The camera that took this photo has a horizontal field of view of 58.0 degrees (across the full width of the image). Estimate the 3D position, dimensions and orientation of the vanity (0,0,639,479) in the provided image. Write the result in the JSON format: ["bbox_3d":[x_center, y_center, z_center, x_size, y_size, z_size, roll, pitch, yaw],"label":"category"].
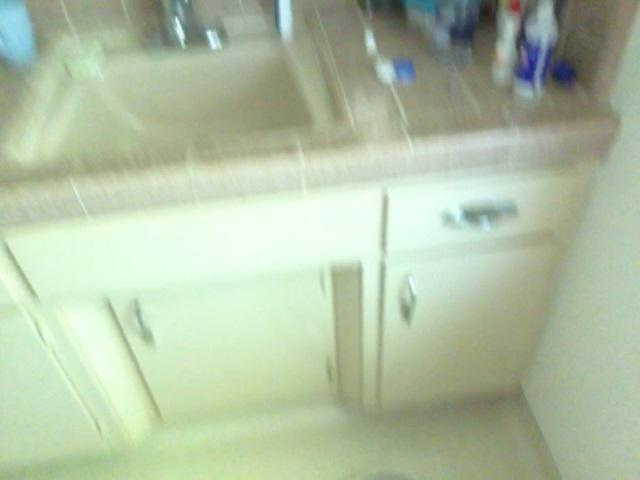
[{"bbox_3d":[-0.910,0.070,1.090,2.680,1.030,0.610,-7,42,-1],"label":"vanity"}]
